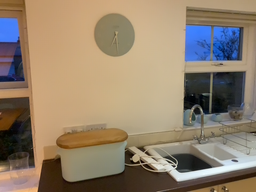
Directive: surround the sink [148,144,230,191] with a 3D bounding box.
[{"bbox_3d":[0.420,0.520,1.550,0.430,0.160,0.380,-3,9,-17],"label":"sink"}]
